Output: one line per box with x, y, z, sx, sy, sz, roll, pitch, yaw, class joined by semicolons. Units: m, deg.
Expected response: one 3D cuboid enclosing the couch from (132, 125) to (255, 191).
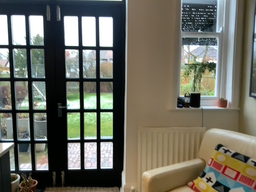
0.600;0.730;1.470;0.860;0.790;0.770;-4;8;-35;couch
